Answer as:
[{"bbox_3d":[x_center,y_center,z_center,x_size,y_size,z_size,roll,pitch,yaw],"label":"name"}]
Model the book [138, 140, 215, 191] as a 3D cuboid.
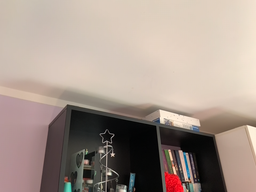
[{"bbox_3d":[0.310,0.530,1.380,0.390,0.370,0.270,17,-33,-32],"label":"book"}]
